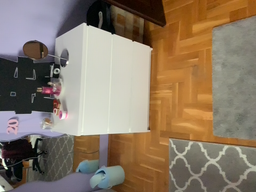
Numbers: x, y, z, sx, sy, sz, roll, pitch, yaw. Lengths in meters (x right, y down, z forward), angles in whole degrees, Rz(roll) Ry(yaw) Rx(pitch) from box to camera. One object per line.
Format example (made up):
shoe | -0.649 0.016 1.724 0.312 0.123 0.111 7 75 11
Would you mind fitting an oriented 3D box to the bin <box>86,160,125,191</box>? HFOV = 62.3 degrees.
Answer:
bin | -0.240 0.820 2.220 0.310 0.280 0.240 -11 77 47
